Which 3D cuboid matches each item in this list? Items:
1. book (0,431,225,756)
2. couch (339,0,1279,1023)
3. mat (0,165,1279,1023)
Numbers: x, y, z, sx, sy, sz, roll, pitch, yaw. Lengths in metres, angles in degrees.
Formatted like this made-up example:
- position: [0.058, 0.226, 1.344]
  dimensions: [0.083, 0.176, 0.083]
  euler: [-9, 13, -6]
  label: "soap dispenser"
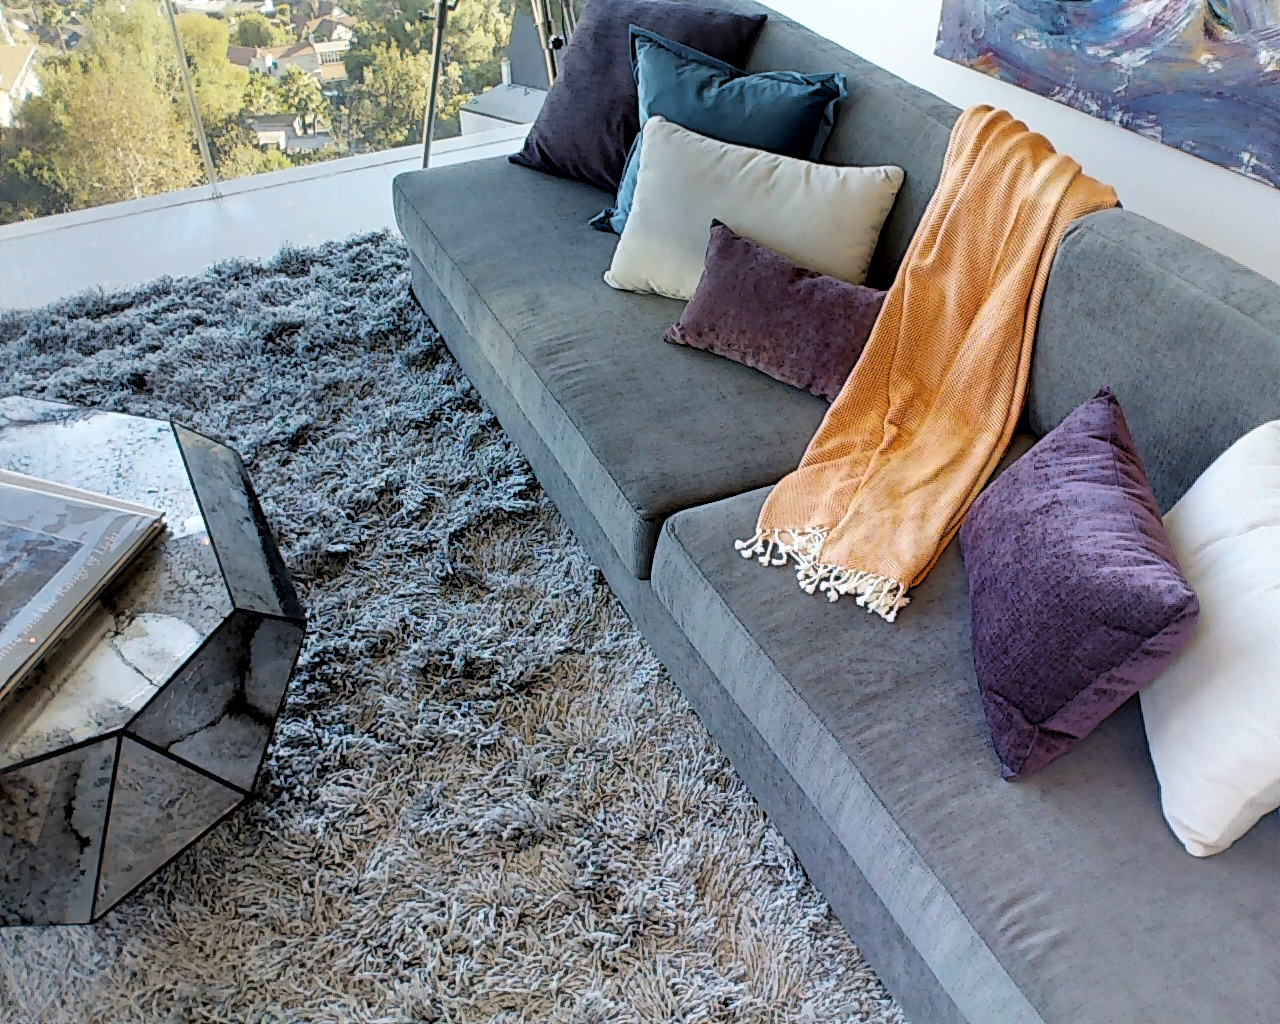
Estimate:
- position: [-0.960, 0.080, 1.560]
  dimensions: [0.480, 0.080, 0.490]
  euler: [10, 42, 12]
  label: "book"
- position: [0.540, -0.200, 1.980]
  dimensions: [1.250, 0.840, 3.040]
  euler: [-19, 45, -20]
  label: "couch"
- position: [-1.000, 0.690, 1.530]
  dimensions: [3.280, 0.130, 4.350]
  euler: [-19, 45, -20]
  label: "mat"
